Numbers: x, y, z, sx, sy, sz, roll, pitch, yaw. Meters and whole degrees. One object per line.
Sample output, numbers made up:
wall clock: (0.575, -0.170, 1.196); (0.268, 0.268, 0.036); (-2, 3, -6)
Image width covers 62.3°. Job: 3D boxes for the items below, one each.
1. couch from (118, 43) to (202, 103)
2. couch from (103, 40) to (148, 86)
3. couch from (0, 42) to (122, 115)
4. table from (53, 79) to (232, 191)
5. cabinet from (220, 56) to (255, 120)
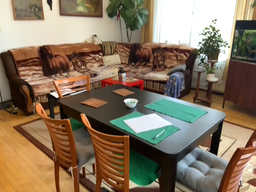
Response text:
couch: (0.640, -0.600, 4.660); (1.480, 0.930, 0.960); (18, 26, 40)
couch: (-0.050, -0.890, 5.390); (0.980, 0.950, 1.130); (1, 20, 1)
couch: (-1.180, -0.500, 4.270); (0.910, 0.960, 2.090); (18, 26, 40)
table: (0.080, 0.420, 2.030); (1.340, 0.790, 0.890); (18, 26, 39)
cabinet: (2.130, -0.110, 3.430); (0.420, 0.890, 1.010); (-11, 23, -30)
